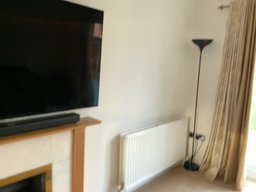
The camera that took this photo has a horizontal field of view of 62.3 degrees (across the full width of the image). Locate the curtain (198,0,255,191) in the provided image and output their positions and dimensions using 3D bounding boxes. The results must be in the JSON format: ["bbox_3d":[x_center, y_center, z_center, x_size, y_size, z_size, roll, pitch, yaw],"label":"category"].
[{"bbox_3d":[1.240,0.000,2.540,0.510,2.360,0.250,10,11,43],"label":"curtain"}]

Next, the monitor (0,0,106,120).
[{"bbox_3d":[-0.740,-0.260,1.330,0.060,0.820,1.460,16,15,40],"label":"monitor"}]
